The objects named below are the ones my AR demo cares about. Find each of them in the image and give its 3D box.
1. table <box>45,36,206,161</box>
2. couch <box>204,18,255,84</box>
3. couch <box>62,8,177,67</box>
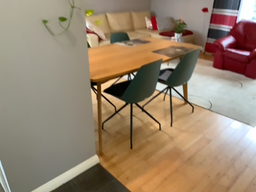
[{"bbox_3d":[0.030,-0.150,2.540,1.540,0.780,0.970,-22,35,-38],"label":"table"},{"bbox_3d":[2.250,-0.910,3.980,1.050,0.890,0.980,-19,33,-33],"label":"couch"},{"bbox_3d":[-0.060,-1.580,5.240,2.800,0.900,0.940,-23,35,-38],"label":"couch"}]
